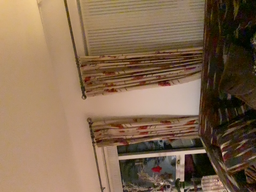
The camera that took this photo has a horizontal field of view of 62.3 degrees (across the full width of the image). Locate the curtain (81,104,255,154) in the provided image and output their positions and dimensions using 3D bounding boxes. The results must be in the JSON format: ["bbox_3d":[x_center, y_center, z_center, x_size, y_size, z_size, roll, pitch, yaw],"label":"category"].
[{"bbox_3d":[0.540,0.450,2.910,0.260,2.260,0.420,-93,-3,-65],"label":"curtain"}]

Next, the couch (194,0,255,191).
[{"bbox_3d":[1.200,-0.290,1.890,1.180,0.780,2.580,-92,-3,-66],"label":"couch"}]

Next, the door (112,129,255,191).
[{"bbox_3d":[0.820,1.260,3.280,0.140,1.960,1.510,-93,-3,-65],"label":"door"}]
